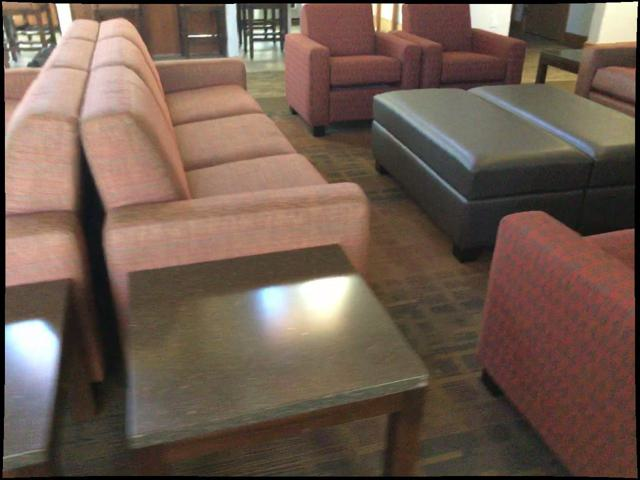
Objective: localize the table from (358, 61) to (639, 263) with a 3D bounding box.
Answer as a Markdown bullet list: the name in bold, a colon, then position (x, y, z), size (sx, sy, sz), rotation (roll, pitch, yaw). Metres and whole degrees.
- **table**: position (0.989, -0.511, 3.030), size (1.199, 0.490, 1.350), rotation (-6, 31, -13)

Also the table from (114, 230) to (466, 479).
- **table**: position (-0.120, 0.360, 1.530), size (0.709, 0.440, 0.660), rotation (-6, 31, -13)
